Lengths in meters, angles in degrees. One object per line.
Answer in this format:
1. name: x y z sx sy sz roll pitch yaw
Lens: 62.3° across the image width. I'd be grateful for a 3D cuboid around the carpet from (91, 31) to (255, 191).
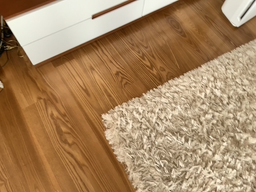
1. carpet: 0.900 0.420 1.160 1.610 0.020 1.640 -27 70 -16
